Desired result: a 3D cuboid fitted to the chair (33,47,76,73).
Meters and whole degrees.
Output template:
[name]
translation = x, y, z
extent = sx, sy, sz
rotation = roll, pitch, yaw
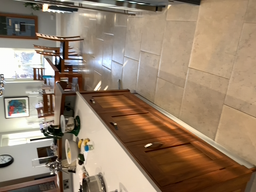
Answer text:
[chair]
translation = -2.110, -1.030, 6.110
extent = 0.490, 1.080, 0.630
rotation = 41, 128, 54
